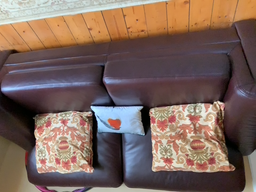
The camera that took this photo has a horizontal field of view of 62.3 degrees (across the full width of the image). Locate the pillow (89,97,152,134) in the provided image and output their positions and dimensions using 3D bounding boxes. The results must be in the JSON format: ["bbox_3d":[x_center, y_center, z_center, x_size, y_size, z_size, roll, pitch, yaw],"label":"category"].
[{"bbox_3d":[-0.040,0.160,1.580,0.400,0.140,0.310,-3,147,11],"label":"pillow"}]

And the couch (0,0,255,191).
[{"bbox_3d":[-0.060,0.160,1.680,2.020,0.930,1.060,-4,147,14],"label":"couch"}]
